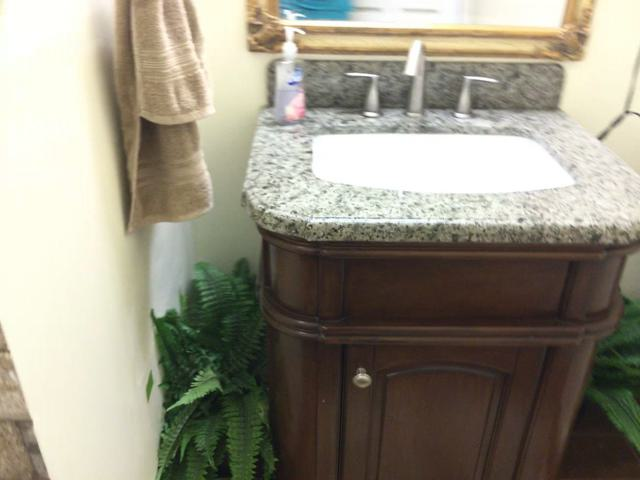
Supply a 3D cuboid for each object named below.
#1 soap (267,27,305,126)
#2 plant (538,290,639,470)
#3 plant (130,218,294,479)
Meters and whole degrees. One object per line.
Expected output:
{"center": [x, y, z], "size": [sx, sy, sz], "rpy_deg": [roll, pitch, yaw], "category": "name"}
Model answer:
{"center": [-0.070, -0.350, 1.230], "size": [0.070, 0.170, 0.150], "rpy_deg": [1, 30, 0], "category": "soap"}
{"center": [0.780, 0.320, 1.410], "size": [0.320, 0.170, 0.440], "rpy_deg": [1, 30, 0], "category": "plant"}
{"center": [-0.200, 0.280, 1.340], "size": [0.250, 0.440, 0.580], "rpy_deg": [1, 30, 0], "category": "plant"}
